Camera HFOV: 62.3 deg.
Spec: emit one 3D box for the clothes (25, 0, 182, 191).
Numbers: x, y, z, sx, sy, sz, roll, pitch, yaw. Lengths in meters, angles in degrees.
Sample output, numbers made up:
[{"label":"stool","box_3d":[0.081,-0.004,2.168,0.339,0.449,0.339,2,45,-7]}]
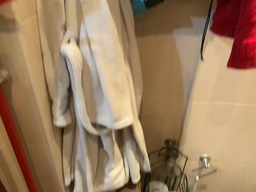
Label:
[{"label":"clothes","box_3d":[-0.060,0.060,0.730,0.320,0.940,0.200,2,35,0]}]
